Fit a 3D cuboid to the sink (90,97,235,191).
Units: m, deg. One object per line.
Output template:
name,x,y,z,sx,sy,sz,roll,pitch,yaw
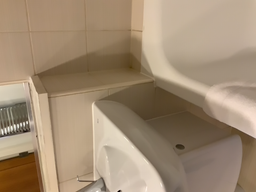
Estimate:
sink,0.040,0.360,0.690,0.430,0.170,0.590,33,127,54
